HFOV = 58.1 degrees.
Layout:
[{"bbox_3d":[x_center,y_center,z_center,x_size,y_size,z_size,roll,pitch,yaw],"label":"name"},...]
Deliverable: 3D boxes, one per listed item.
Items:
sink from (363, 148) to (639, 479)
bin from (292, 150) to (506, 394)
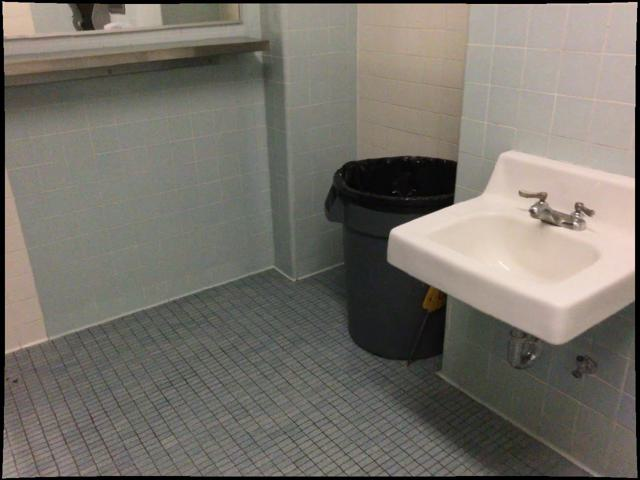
[{"bbox_3d":[0.499,0.140,1.530,0.479,0.581,0.600,-20,29,-33],"label":"sink"},{"bbox_3d":[0.309,0.080,2.340,0.559,0.691,0.590,-20,29,-33],"label":"bin"}]
